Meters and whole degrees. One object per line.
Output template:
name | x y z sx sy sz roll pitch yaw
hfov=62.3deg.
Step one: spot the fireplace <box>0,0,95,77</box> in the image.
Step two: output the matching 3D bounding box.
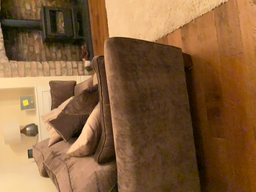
fireplace | -1.350 -1.140 3.090 0.700 1.430 1.620 -4 91 61
